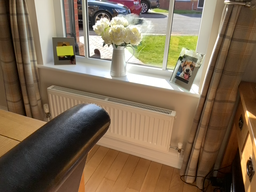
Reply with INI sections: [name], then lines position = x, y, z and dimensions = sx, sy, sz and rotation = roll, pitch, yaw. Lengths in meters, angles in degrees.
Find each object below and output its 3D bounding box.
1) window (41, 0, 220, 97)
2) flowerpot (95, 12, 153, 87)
[window]
position = -0.020, -0.840, 1.480
dimensions = 1.290, 1.540, 0.230
rotation = 11, 28, 16
[flowerpot]
position = -0.050, -0.350, 1.530
dimensions = 0.300, 0.440, 0.340
rotation = -7, 28, -18
